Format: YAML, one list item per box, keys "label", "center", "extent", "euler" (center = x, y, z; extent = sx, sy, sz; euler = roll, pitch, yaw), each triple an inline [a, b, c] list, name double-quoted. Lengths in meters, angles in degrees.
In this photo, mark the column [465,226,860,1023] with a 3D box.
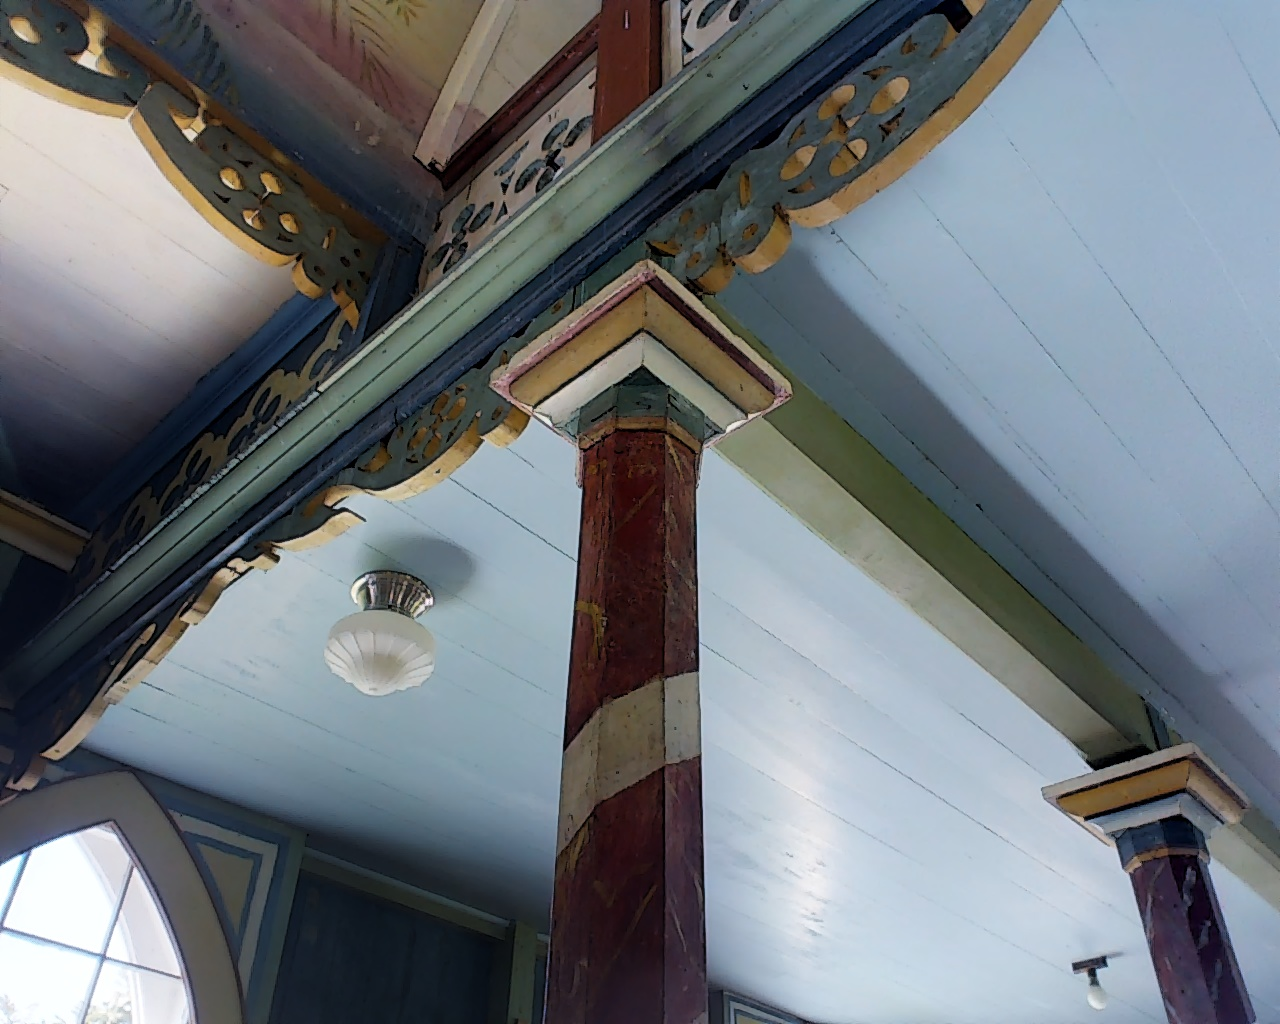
- label: "column"
  center: [0.010, 0.780, 0.710]
  extent: [0.260, 2.790, 0.250]
  euler: [-31, -51, 32]
